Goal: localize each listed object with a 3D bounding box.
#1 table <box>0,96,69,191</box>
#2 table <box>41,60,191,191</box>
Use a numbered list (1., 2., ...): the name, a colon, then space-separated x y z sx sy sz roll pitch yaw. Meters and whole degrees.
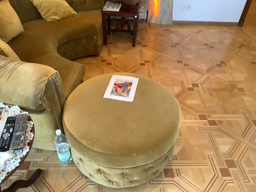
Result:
1. table: -0.730 0.420 1.110 0.550 0.670 0.530 14 42 11
2. table: -0.050 0.200 1.590 0.790 0.490 0.850 5 41 1
